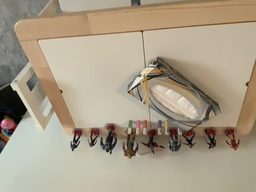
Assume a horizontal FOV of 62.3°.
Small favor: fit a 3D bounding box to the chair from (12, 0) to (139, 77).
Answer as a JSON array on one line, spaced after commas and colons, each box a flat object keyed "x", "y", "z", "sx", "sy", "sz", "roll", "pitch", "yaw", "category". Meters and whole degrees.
[{"x": -0.130, "y": -0.360, "z": 0.800, "sx": 0.290, "sy": 0.520, "sz": 0.310, "roll": -2, "pitch": 132, "yaw": 9, "category": "chair"}]
